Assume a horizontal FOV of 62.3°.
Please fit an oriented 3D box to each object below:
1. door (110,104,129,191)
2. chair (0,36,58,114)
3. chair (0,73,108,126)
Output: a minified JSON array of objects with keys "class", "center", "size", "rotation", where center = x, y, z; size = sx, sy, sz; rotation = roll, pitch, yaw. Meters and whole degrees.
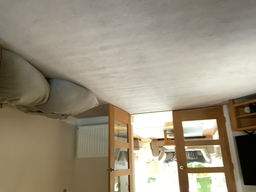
[{"class":"door","center":[-0.130,1.290,3.510],"size":[0.100,2.150,0.900],"rotation":[-5,162,10]},{"class":"chair","center":[-1.290,-0.120,2.000],"size":[0.900,0.370,0.780],"rotation":[-7,162,15]},{"class":"chair","center":[-0.960,0.120,2.850],"size":[1.040,0.330,1.090],"rotation":[-7,162,15]}]
